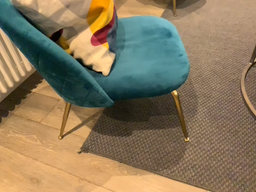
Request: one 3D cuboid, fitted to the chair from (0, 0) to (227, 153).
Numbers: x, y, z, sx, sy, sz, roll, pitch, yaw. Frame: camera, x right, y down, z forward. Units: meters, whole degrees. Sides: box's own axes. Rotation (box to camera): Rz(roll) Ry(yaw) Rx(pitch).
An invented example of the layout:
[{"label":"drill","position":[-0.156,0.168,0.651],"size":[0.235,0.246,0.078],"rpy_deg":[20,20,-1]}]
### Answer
[{"label":"chair","position":[-0.110,-0.250,0.940],"size":[0.710,0.720,0.650],"rpy_deg":[-4,45,1]}]
